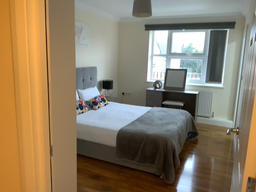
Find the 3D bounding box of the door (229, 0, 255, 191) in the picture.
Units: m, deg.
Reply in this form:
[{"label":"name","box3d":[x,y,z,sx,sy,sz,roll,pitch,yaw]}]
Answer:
[{"label":"door","box3d":[0.560,0.290,1.060,0.030,2.050,0.840,7,11,26]}]
